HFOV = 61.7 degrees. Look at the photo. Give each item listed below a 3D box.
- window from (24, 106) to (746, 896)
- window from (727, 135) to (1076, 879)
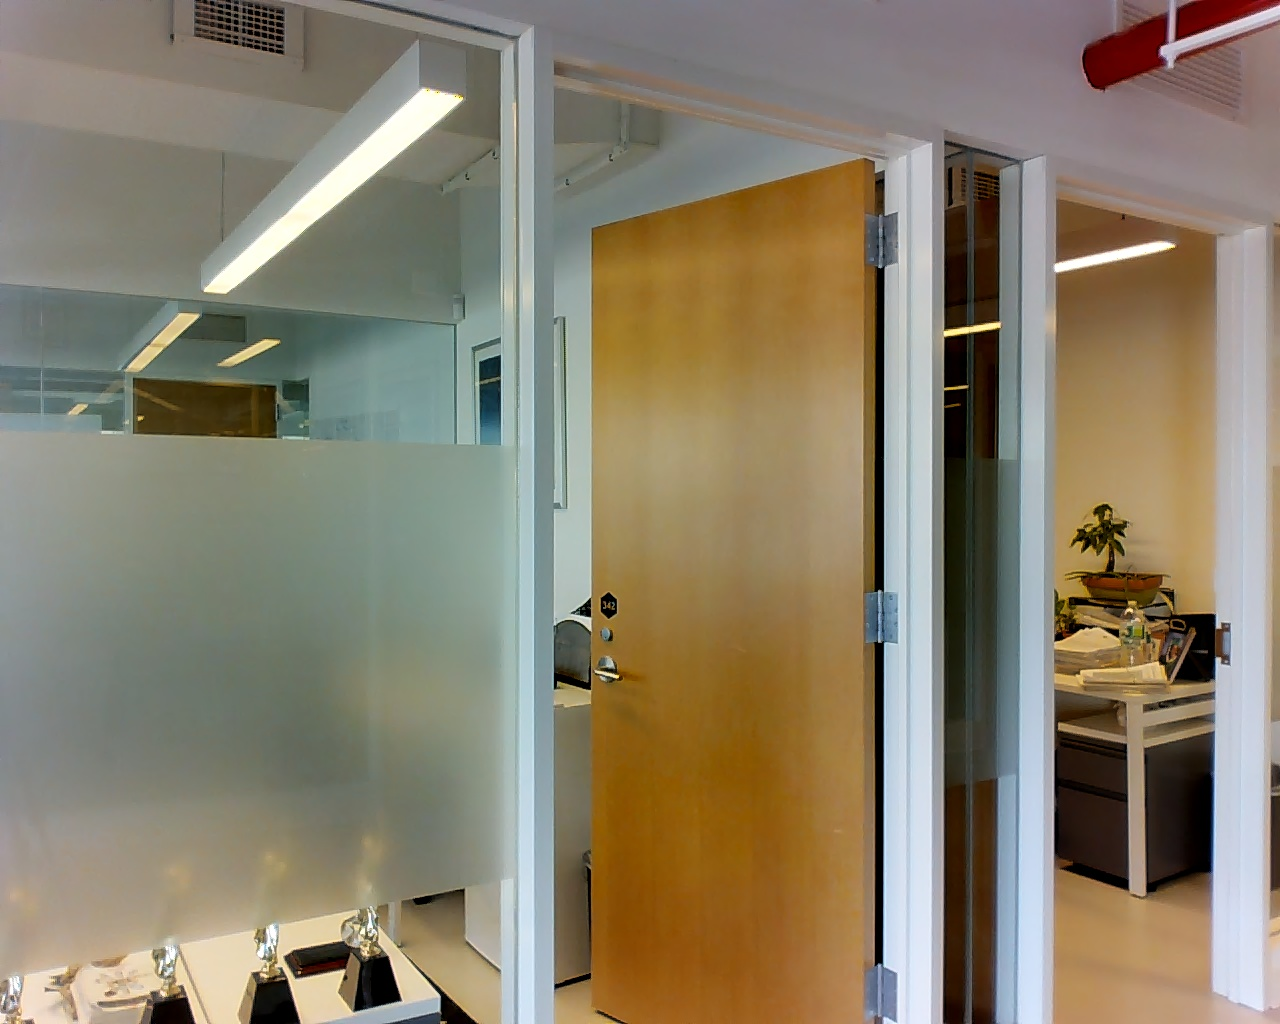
[{"bbox_3d":[-0.890,-0.040,4.960,3.399,2.961,0.090,0,0,-32],"label":"window"},{"bbox_3d":[0.650,-0.010,2.490,1.060,1.510,0.070,0,0,-32],"label":"window"}]
